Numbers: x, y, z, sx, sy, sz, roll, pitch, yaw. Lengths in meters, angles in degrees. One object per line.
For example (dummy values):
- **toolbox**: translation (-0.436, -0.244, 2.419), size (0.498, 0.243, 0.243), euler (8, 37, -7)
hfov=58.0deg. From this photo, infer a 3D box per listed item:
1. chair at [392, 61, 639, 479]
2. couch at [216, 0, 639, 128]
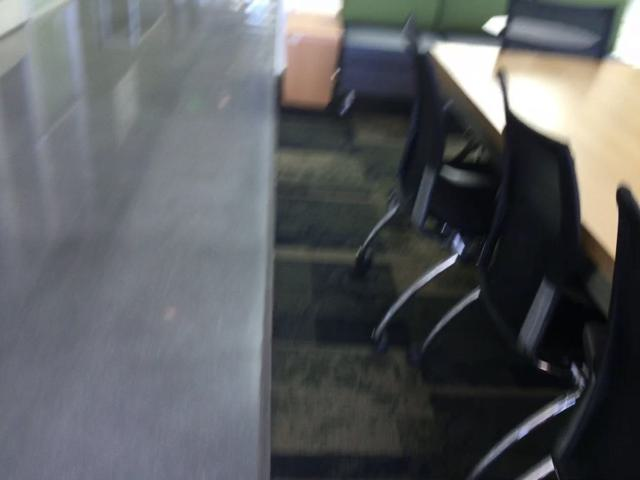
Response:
- **chair**: translation (0.600, 0.110, 1.460), size (0.570, 0.910, 0.640), euler (1, 31, -8)
- **couch**: translation (0.610, -1.380, 3.800), size (2.510, 0.880, 0.950), euler (1, 31, -8)
